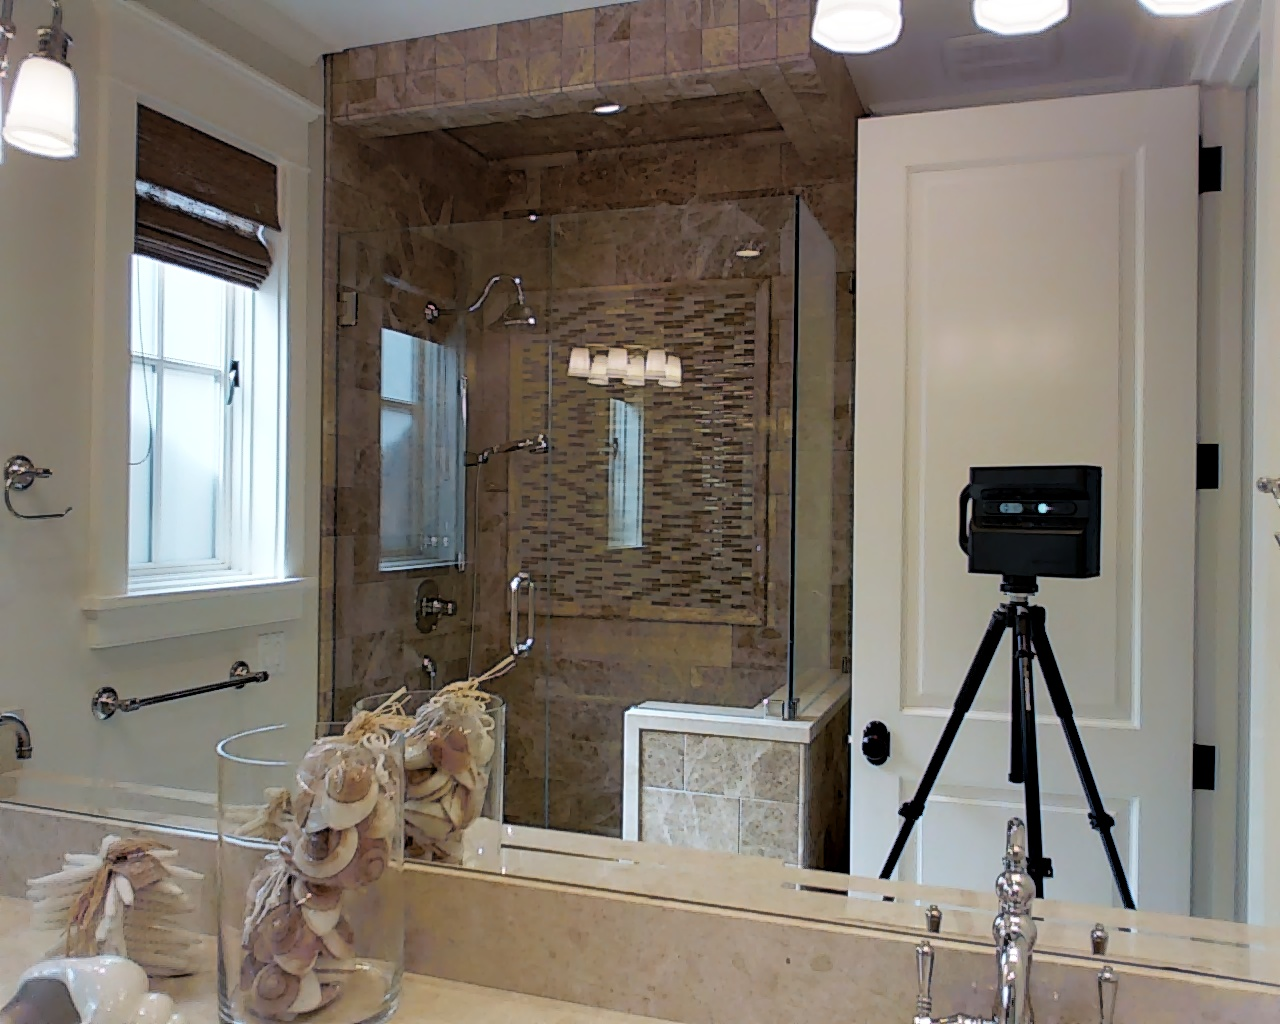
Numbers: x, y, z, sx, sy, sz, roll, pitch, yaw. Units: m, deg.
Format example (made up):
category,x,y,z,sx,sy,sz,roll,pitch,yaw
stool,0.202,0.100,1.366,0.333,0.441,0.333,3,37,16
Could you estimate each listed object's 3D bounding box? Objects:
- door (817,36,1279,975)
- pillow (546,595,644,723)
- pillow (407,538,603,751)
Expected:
category,x,y,z,sx,sy,sz,roll,pitch,yaw
door,0.970,-0.020,2.580,1.040,2.051,0.160,0,0,20
pillow,-0.160,0.540,4.040,0.310,0.420,0.420,1,0,6
pillow,-0.470,0.460,3.930,0.430,0.600,0.530,25,-1,2
